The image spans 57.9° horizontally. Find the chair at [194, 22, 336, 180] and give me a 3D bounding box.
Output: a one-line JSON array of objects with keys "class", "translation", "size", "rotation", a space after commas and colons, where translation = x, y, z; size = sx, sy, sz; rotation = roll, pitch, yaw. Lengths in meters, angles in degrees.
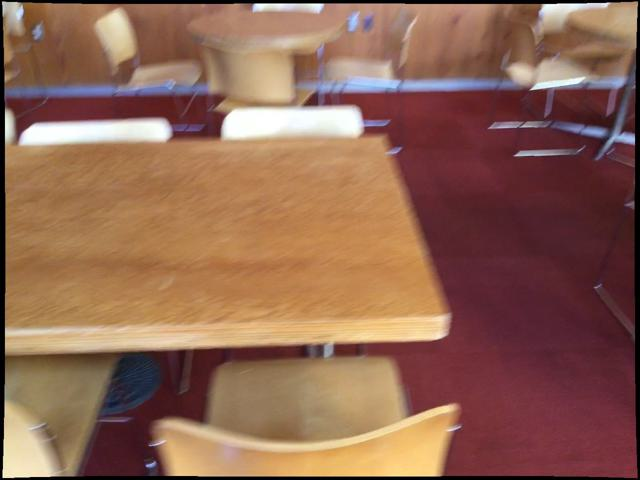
[{"class": "chair", "translation": [-0.260, -0.751, 3.060], "size": [0.579, 0.620, 0.550], "rotation": [7, 34, 9]}]

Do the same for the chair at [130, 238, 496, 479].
[{"class": "chair", "translation": [-0.020, 0.430, 1.230], "size": [0.519, 0.700, 0.520], "rotation": [0, 33, -2]}]

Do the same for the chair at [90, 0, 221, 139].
[{"class": "chair", "translation": [-0.939, -1.031, 3.460], "size": [0.579, 0.700, 0.480], "rotation": [0, 33, -2]}]

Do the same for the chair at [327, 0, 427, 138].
[{"class": "chair", "translation": [0.310, -1.041, 3.500], "size": [0.499, 0.680, 0.520], "rotation": [0, 33, -2]}]
